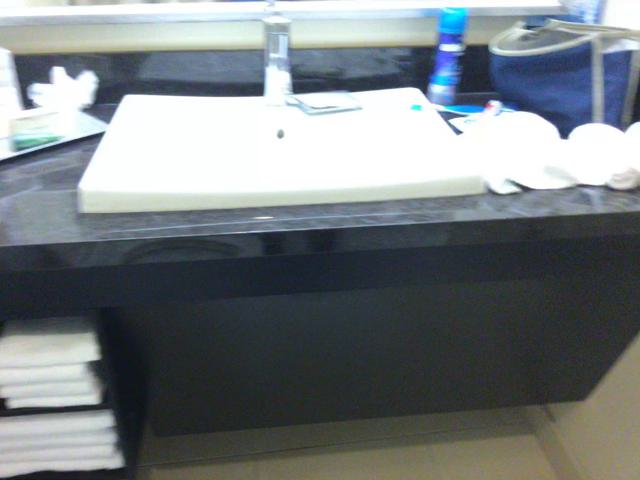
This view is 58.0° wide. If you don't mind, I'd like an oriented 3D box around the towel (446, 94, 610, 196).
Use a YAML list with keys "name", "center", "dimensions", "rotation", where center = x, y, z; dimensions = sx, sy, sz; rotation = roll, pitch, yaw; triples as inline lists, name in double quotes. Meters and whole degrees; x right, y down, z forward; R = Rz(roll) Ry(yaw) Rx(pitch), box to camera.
- name: "towel"
  center: [0.320, -0.160, 0.930]
  dimensions: [0.160, 0.080, 0.220]
  rotation: [-4, 31, -7]

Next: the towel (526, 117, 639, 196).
- name: "towel"
  center: [0.450, -0.140, 0.930]
  dimensions: [0.150, 0.050, 0.190]
  rotation: [-4, 31, -7]

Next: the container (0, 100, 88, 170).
- name: "container"
  center: [-0.510, -0.180, 0.980]
  dimensions: [0.180, 0.060, 0.160]
  rotation: [-4, 31, -7]
